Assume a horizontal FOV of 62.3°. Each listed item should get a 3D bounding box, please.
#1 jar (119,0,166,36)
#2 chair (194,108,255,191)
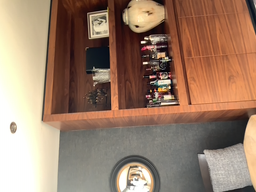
[{"bbox_3d":[0.170,-1.020,2.620,0.310,0.530,0.400,79,-172,-72],"label":"jar"},{"bbox_3d":[1.120,0.620,1.790,0.920,0.800,0.670,83,-176,-56],"label":"chair"}]
